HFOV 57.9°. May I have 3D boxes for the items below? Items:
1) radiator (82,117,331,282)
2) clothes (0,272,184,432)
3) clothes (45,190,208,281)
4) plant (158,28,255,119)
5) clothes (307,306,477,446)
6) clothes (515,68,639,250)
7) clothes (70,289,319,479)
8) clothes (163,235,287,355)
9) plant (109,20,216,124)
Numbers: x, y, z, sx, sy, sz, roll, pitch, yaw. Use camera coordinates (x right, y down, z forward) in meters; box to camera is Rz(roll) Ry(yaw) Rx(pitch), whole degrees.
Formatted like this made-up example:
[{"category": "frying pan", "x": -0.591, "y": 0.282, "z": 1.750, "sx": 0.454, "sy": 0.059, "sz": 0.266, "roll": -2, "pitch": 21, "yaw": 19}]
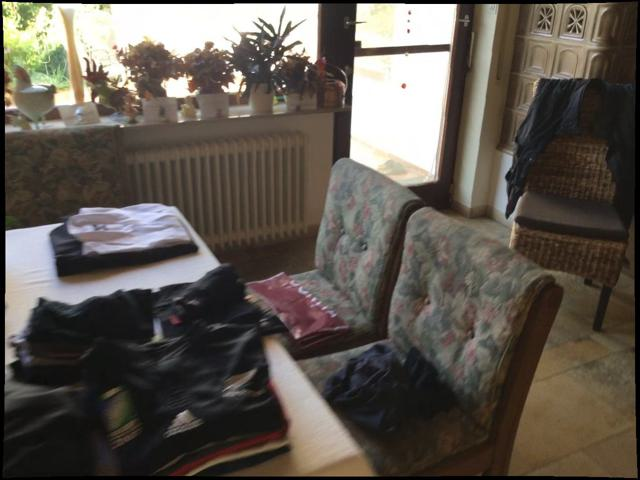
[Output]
[{"category": "radiator", "x": -0.559, "y": -0.240, "z": 3.090, "sx": 1.219, "sy": 0.681, "sz": 0.250, "roll": -10, "pitch": 28, "yaw": -22}, {"category": "clothes", "x": -0.470, "y": 0.210, "z": 1.180, "sx": 0.320, "sy": 0.130, "sz": 0.260, "roll": -10, "pitch": 28, "yaw": -22}, {"category": "clothes", "x": -0.579, "y": -0.030, "z": 1.710, "sx": 0.410, "sy": 0.070, "sz": 0.360, "roll": -10, "pitch": 28, "yaw": -22}, {"category": "plant", "x": -0.549, "y": -0.821, "z": 2.820, "sx": 0.390, "sy": 0.370, "sz": 0.260, "roll": -10, "pitch": 28, "yaw": -22}, {"category": "clothes", "x": 0.180, "y": 0.350, "z": 1.580, "sx": 0.320, "sy": 0.120, "sz": 0.350, "roll": -10, "pitch": 28, "yaw": -22}, {"category": "clothes", "x": 1.399, "y": -0.420, "z": 2.890, "sx": 0.629, "sy": 0.741, "sz": 0.550, "roll": 6, "pitch": 26, "yaw": 8}, {"category": "clothes", "x": -0.240, "y": 0.280, "z": 1.030, "sx": 0.340, "sy": 0.150, "sz": 0.400, "roll": -10, "pitch": 28, "yaw": -22}, {"category": "clothes", "x": -0.240, "y": 0.120, "z": 1.420, "sx": 0.220, "sy": 0.120, "sz": 0.310, "roll": -10, "pitch": 28, "yaw": -22}, {"category": "plant", "x": -0.739, "y": -0.801, "z": 2.720, "sx": 0.400, "sy": 0.400, "sz": 0.340, "roll": -10, "pitch": 28, "yaw": -22}]
